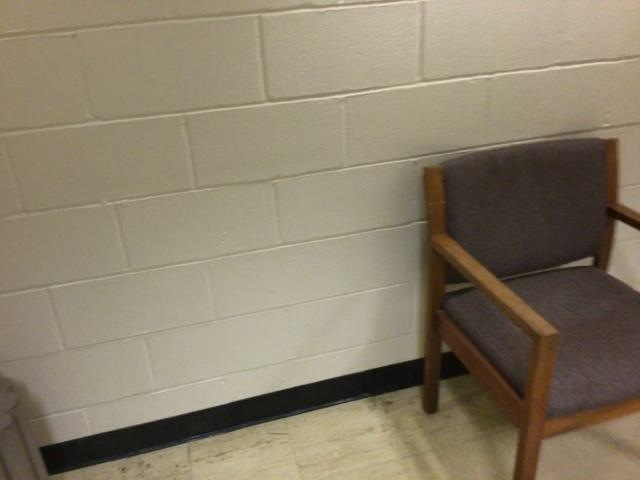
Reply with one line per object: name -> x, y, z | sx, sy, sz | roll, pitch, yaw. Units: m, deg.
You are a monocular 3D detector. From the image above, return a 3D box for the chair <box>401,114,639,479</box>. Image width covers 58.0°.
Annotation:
chair -> 0.670, 0.200, 1.530 | 0.680, 0.860, 0.660 | -10, 24, -11
